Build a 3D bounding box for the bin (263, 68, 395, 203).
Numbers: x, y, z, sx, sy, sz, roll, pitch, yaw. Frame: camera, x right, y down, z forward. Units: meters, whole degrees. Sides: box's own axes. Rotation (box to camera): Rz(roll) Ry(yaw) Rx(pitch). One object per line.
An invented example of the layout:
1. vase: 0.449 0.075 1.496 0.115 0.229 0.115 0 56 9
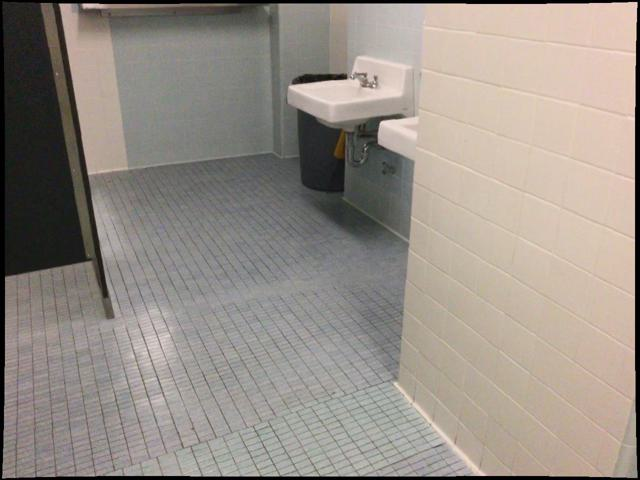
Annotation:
1. bin: 0.050 -0.732 3.880 0.609 0.681 0.670 -14 28 -24
